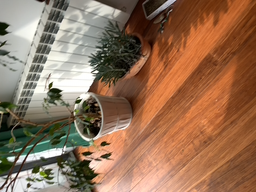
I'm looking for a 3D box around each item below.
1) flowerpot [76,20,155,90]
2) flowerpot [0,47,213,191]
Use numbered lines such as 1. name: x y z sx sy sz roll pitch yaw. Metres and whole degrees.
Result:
1. flowerpot: -0.100 -0.270 1.560 0.420 0.360 0.230 -52 58 31
2. flowerpot: -0.490 0.520 1.230 0.990 1.330 1.210 -52 58 31
